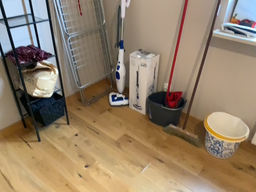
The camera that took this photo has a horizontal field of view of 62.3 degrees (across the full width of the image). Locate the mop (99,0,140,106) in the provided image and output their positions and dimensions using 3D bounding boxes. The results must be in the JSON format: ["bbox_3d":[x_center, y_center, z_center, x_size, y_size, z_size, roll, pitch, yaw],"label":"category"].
[{"bbox_3d":[-0.090,-0.490,2.190,0.310,1.210,0.210,25,40,31],"label":"mop"}]

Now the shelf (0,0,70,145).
[{"bbox_3d":[-0.800,-0.360,1.620,0.300,1.550,0.400,26,40,32],"label":"shelf"}]

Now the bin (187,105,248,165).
[{"bbox_3d":[0.750,0.310,1.790,0.350,0.260,0.300,24,39,30],"label":"bin"}]
